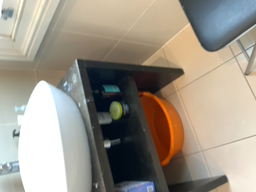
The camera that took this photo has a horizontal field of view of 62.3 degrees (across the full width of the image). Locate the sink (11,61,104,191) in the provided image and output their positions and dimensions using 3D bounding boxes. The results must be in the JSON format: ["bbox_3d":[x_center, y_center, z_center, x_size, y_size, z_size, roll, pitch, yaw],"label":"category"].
[{"bbox_3d":[-0.350,0.260,0.940,0.510,0.180,0.640,-36,64,47],"label":"sink"}]
